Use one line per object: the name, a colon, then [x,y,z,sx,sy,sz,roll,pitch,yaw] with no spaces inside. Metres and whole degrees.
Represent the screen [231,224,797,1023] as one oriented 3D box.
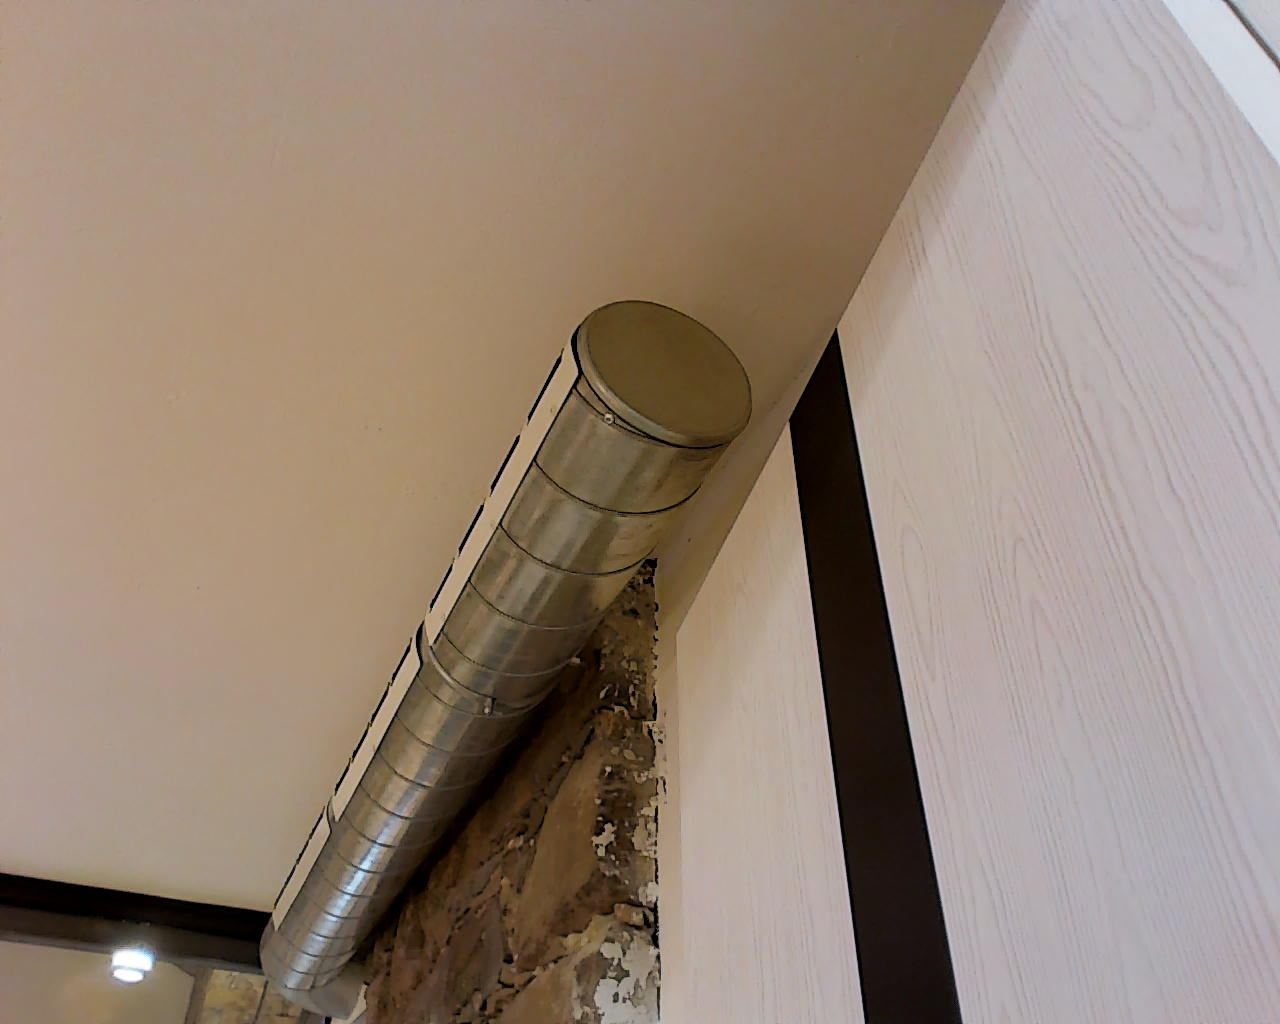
screen: [-0.420,0.510,1.960,0.270,0.280,2.300,16,-44,-17]
